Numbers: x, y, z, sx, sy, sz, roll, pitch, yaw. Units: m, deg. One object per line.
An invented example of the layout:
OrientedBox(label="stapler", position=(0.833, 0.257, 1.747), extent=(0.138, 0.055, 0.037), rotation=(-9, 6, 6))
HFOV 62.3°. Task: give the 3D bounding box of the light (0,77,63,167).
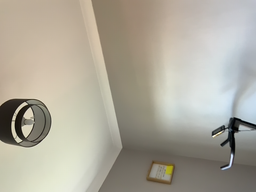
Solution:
OrientedBox(label="light", position=(-0.710, 0.140, 1.280), extent=(0.370, 0.360, 0.360), rotation=(0, -55, 24))
